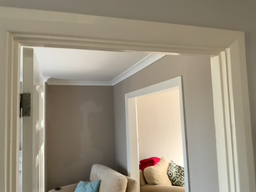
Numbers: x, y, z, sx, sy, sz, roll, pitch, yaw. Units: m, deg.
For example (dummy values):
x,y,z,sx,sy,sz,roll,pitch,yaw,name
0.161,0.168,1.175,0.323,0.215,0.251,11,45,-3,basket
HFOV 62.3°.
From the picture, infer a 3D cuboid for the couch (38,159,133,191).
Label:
x,y,z,sx,sy,sz,roll,pitch,yaw,name
-0.670,1.550,3.170,1.000,0.860,1.180,2,-5,-36,couch
